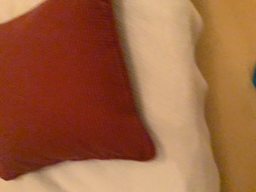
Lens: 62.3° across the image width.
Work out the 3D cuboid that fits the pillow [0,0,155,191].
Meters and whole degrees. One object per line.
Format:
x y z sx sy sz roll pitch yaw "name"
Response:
-0.220 -0.020 0.540 0.480 0.130 0.490 -11 87 18 "pillow"
